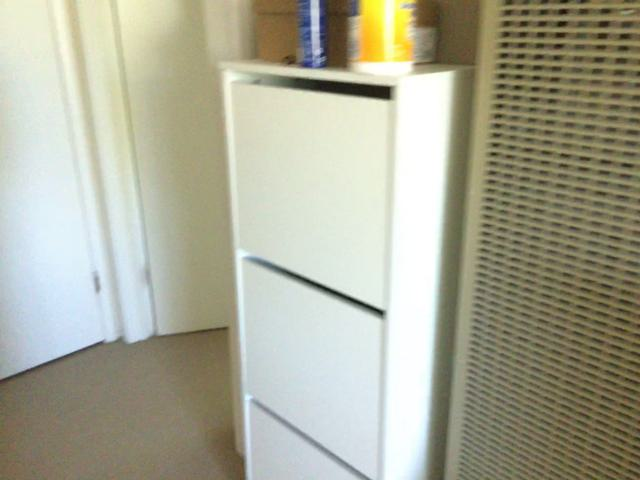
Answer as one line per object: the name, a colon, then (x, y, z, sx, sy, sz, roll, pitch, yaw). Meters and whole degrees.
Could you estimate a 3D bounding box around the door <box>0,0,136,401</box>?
door: (-1.170, -0.150, 2.170, 0.730, 1.500, 0.100, -19, 23, -40)

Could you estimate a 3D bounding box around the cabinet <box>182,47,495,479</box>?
cabinet: (0.040, 0.250, 1.400, 0.280, 1.320, 0.640, -19, 23, -40)

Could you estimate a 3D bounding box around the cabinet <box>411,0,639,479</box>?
cabinet: (0.450, 0.200, 1.020, 0.180, 1.660, 0.570, -19, 23, -40)

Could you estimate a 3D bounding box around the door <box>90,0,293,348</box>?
door: (-0.500, -0.330, 2.400, 0.650, 1.640, 0.110, -3, 17, 1)
